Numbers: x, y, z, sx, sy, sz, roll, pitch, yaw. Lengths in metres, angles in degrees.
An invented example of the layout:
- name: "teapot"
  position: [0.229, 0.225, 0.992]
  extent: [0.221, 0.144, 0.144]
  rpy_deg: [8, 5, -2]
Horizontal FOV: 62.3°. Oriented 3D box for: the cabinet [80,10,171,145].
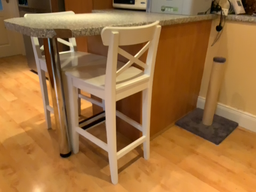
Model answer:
- name: "cabinet"
  position: [-0.050, -0.180, 1.710]
  extent: [0.290, 0.910, 0.640]
  rpy_deg: [-22, 34, -39]
